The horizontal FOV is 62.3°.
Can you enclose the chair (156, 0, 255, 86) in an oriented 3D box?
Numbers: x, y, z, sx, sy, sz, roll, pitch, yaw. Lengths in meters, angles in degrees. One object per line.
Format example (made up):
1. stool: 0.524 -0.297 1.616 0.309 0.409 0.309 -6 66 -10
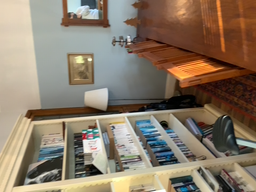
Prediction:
1. chair: 0.780 -0.410 1.330 0.470 1.060 0.530 -124 34 -65
